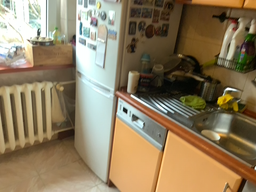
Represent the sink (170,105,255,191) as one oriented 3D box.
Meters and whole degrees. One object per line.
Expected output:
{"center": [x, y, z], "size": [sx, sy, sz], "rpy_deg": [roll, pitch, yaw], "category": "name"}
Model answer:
{"center": [0.530, 0.250, 1.170], "size": [0.440, 0.190, 0.360], "rpy_deg": [-12, 30, -37], "category": "sink"}
